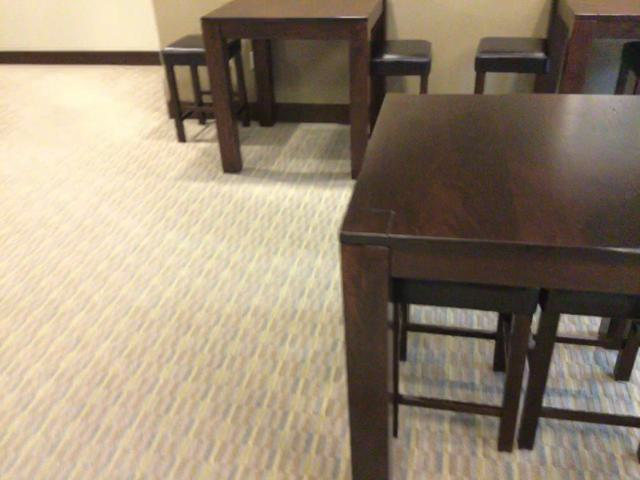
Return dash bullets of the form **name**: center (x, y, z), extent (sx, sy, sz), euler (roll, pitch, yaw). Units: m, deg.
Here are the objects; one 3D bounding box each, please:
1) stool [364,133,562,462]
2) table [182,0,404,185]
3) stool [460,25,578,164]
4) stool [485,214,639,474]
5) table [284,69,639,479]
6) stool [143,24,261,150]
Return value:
- **stool**: center (0.440, 0.150, 1.840), extent (0.460, 0.770, 0.640), euler (5, 33, 15)
- **table**: center (-0.070, -1.020, 3.570), extent (1.040, 0.960, 0.980), euler (5, 33, 15)
- **stool**: center (1.170, -0.890, 3.480), extent (0.560, 0.640, 0.610), euler (5, 33, 15)
- **stool**: center (0.790, 0.300, 1.780), extent (0.490, 0.560, 0.490), euler (5, 33, 15)
- **table**: center (0.600, 0.160, 1.620), extent (1.020, 0.960, 1.090), euler (5, 33, 15)
- **stool**: center (-0.770, -1.050, 3.940), extent (0.490, 0.680, 0.560), euler (5, 33, 15)
